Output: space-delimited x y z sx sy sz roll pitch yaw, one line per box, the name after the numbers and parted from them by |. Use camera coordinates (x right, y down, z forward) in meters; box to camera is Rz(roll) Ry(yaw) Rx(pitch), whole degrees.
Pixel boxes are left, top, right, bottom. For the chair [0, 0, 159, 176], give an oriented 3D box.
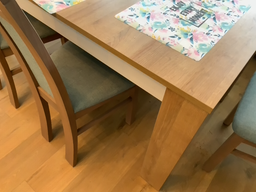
-0.240 -0.140 0.930 0.450 1.000 0.480 36 58 21 | chair

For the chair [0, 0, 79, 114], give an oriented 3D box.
-0.650 -0.450 1.130 0.450 1.000 0.480 36 58 21 | chair
